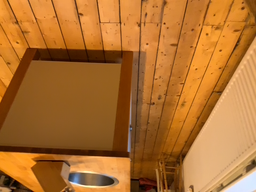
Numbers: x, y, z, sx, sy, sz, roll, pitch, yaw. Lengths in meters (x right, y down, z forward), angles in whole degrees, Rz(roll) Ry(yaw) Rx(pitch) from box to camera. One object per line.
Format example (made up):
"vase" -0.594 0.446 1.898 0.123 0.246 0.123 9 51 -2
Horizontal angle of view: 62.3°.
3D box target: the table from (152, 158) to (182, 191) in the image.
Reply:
"table" 0.680 1.580 3.810 0.420 0.730 0.510 3 144 0
